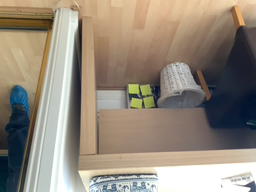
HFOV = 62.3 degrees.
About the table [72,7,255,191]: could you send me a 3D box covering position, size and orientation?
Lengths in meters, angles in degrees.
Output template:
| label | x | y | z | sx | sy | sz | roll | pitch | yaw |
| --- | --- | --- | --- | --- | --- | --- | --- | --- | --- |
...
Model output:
| label | x | y | z | sx | sy | sz | roll | pitch | yaw |
| --- | --- | --- | --- | --- | --- | --- | --- | --- | --- |
| table | 0.380 | 0.070 | 1.180 | 1.240 | 0.750 | 0.650 | 0 | 148 | -9 |
